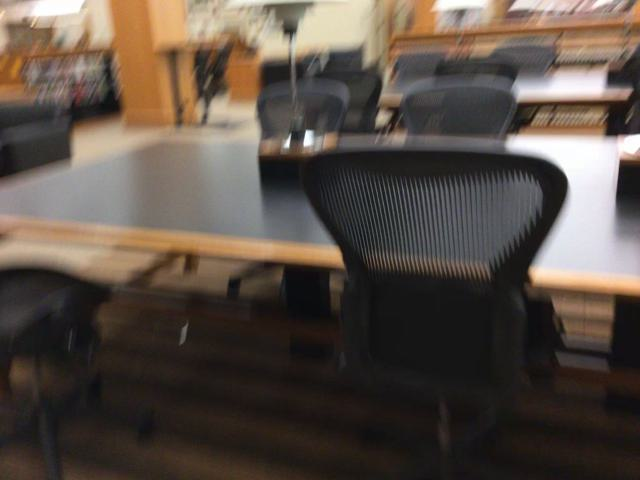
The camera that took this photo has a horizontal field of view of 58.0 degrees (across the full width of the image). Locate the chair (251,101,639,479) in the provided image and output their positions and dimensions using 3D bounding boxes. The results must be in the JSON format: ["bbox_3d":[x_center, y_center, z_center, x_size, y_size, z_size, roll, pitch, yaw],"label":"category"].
[{"bbox_3d":[0.340,0.230,1.470,0.690,1.060,0.670,4,20,22],"label":"chair"}]

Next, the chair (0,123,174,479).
[{"bbox_3d":[-0.930,0.210,1.770,0.550,1.040,0.620,4,20,22],"label":"chair"}]
